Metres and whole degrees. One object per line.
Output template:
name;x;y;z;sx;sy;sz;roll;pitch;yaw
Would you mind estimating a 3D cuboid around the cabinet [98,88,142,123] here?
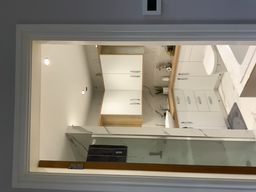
cabinet;-0.120;0.160;3.870;0.230;0.740;0.630;88;-176;-45
